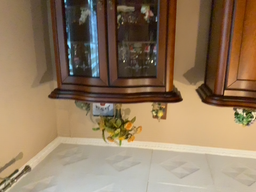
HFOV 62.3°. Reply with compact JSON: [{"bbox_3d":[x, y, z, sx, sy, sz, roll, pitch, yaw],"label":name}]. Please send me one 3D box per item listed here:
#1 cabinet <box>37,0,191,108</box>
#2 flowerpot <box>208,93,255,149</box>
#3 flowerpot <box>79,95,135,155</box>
[{"bbox_3d":[-0.070,-0.610,1.650,1.000,1.240,0.590,3,-165,8],"label":"cabinet"},{"bbox_3d":[0.940,0.180,1.720,0.430,0.270,0.540,3,-165,9],"label":"flowerpot"},{"bbox_3d":[-0.170,0.240,1.940,0.390,0.390,0.380,4,-165,14],"label":"flowerpot"}]
